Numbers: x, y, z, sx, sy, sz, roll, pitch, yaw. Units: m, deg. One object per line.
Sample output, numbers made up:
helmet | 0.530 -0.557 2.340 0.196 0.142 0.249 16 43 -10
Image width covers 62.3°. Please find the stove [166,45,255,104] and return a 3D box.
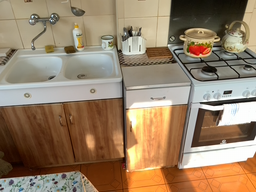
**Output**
stove | 0.650 -0.190 1.540 0.590 0.120 0.610 -4 35 -5
